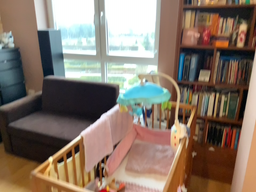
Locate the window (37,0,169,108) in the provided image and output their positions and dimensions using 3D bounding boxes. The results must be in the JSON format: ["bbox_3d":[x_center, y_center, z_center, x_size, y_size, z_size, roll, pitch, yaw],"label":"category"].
[{"bbox_3d":[-0.390,-0.880,2.920,1.810,1.920,0.230,7,21,19],"label":"window"}]

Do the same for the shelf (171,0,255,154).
[{"bbox_3d":[0.920,-0.320,2.040,0.830,1.640,0.340,8,21,20],"label":"shelf"}]

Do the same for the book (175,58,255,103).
[{"bbox_3d":[0.890,-0.170,2.070,0.770,0.300,0.310,8,21,21],"label":"book"}]
